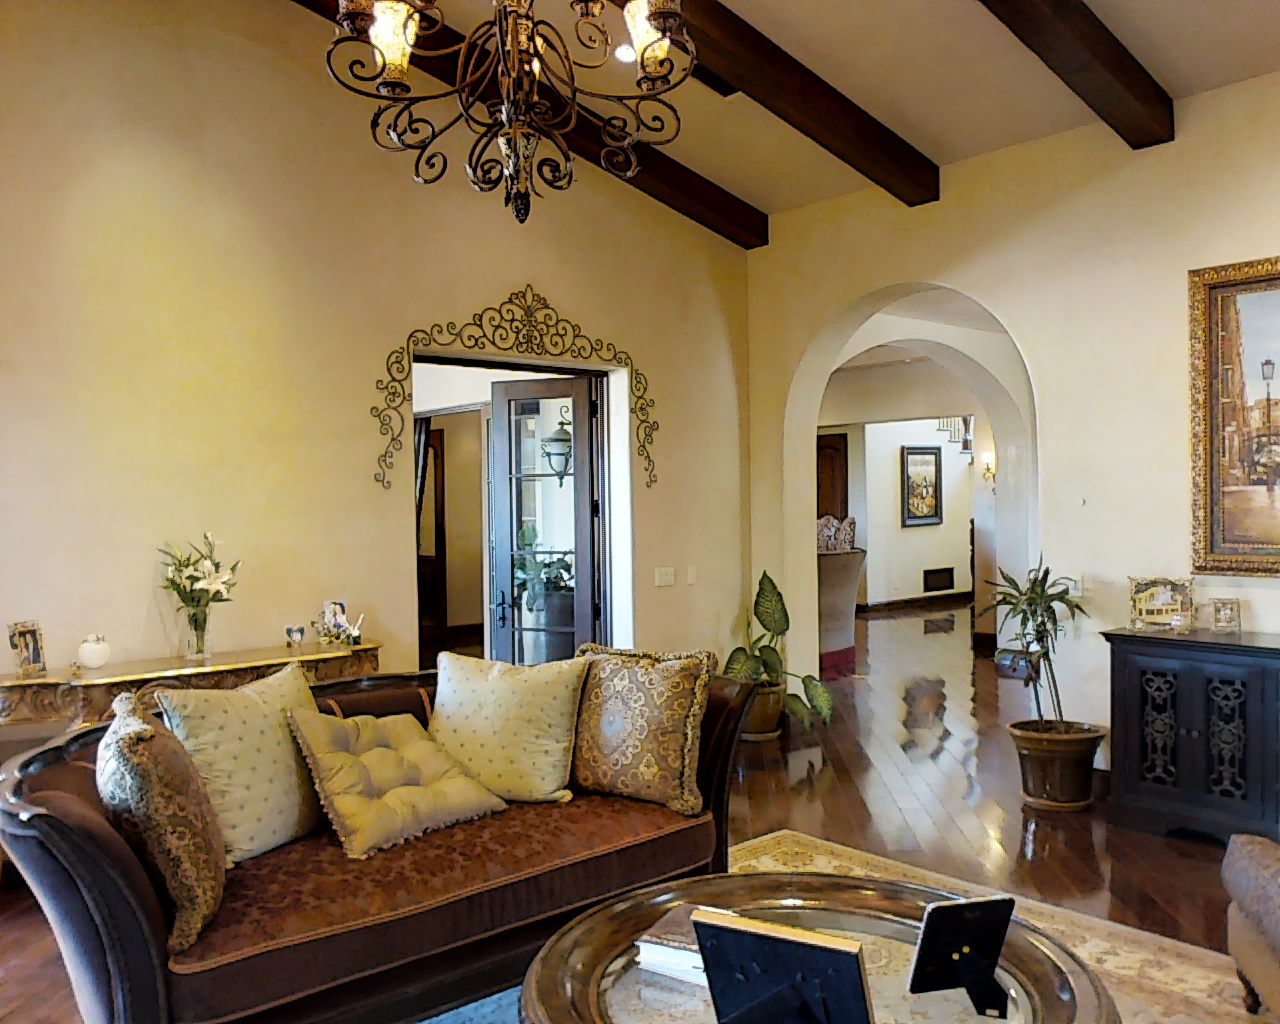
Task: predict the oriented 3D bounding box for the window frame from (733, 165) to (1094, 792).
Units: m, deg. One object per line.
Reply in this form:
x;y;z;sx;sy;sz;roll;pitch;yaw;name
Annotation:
1.510;-0.170;6.460;0.180;3.210;2.410;-2;1;-41;window frame
